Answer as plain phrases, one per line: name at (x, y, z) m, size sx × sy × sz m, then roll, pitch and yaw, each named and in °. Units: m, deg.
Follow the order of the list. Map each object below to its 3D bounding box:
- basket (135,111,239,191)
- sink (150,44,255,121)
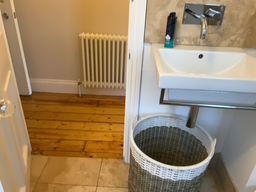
basket at (0.290, 0.420, 1.310) m, size 0.470 × 0.450 × 0.460 m, roll 4°, pitch 29°, yaw 1°
sink at (0.390, -0.090, 1.030) m, size 0.520 × 0.180 × 0.440 m, roll 3°, pitch 29°, yaw 0°
